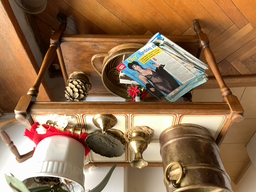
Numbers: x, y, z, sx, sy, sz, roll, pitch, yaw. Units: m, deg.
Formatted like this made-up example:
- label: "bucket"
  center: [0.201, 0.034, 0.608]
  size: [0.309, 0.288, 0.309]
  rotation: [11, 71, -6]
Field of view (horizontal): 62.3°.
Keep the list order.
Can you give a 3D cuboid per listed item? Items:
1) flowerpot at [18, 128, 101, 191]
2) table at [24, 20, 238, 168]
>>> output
- label: "flowerpot"
  center: [-0.200, 0.270, 0.690]
  size: [0.180, 0.250, 0.210]
  rotation: [-1, 135, 1]
- label: "table"
  center: [0.010, -0.040, 0.960]
  size: [0.630, 0.600, 0.350]
  rotation: [0, 135, 0]
